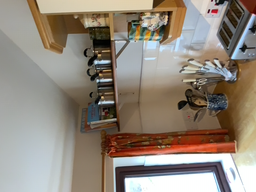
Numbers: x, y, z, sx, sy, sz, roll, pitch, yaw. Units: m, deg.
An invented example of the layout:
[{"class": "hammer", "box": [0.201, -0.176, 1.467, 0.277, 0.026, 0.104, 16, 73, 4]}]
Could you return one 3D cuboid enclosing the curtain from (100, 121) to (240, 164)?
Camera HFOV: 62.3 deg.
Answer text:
[{"class": "curtain", "box": [0.280, 0.340, 1.550, 0.200, 0.950, 0.180, 91, 175, -52]}]
